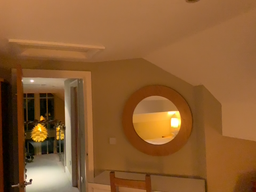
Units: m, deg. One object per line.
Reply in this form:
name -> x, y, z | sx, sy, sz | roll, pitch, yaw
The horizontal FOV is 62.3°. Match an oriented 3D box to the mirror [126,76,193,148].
mirror -> 0.370, 0.190, 2.530 | 0.750, 0.800, 0.130 | -2, -1, 17
